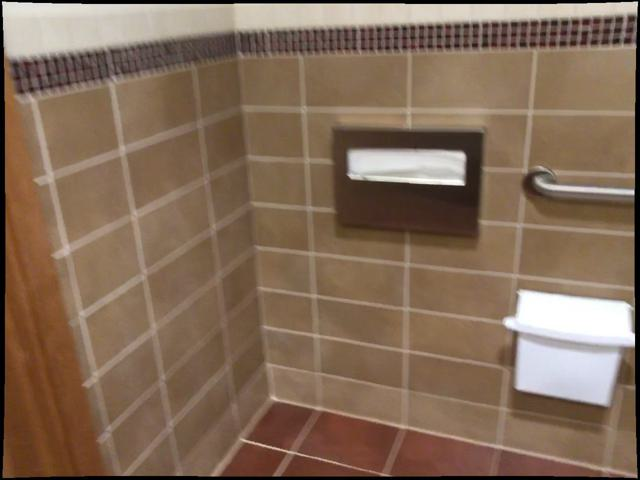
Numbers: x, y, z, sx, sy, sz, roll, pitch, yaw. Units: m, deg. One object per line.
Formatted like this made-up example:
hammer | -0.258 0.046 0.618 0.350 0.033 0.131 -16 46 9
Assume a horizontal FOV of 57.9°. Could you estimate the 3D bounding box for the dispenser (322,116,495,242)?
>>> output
dispenser | 0.230 -0.170 1.560 0.440 0.300 0.070 7 25 22
